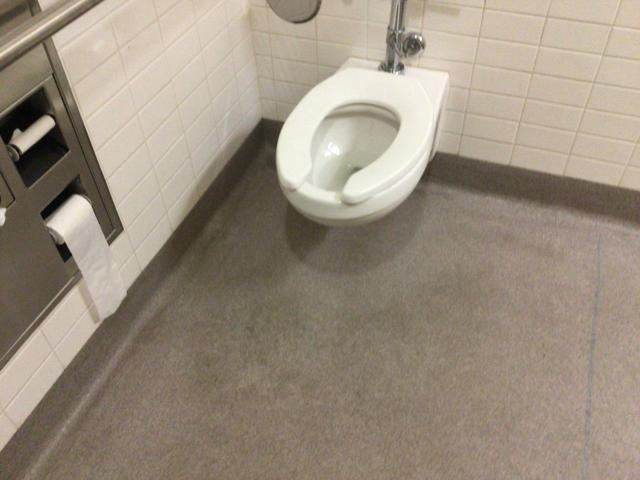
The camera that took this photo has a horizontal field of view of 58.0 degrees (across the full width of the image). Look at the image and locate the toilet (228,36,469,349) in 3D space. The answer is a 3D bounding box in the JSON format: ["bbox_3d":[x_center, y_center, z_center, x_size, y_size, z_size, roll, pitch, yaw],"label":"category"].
[{"bbox_3d":[0.110,-0.150,1.580,0.390,0.500,0.630,15,48,17],"label":"toilet"}]
